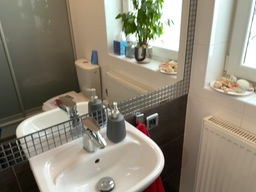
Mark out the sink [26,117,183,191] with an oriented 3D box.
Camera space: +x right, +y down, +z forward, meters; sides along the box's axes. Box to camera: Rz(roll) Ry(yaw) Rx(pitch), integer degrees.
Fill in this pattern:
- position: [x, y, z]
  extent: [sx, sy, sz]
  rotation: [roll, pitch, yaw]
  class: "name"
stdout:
- position: [-0.090, 0.300, 0.840]
  extent: [0.480, 0.150, 0.360]
  rotation: [-19, 30, -31]
  class: "sink"
